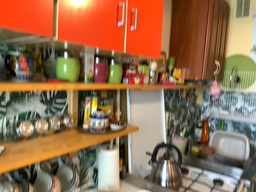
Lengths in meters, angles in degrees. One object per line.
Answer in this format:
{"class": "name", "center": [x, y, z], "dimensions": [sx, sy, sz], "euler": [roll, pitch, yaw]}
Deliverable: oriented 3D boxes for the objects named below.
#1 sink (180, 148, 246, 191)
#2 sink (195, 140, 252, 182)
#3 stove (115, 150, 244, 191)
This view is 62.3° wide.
{"class": "sink", "center": [0.690, 0.600, 1.710], "dimensions": [0.410, 0.180, 0.350], "euler": [7, 6, 36]}
{"class": "sink", "center": [0.900, 0.590, 2.000], "dimensions": [0.410, 0.180, 0.370], "euler": [7, 6, 36]}
{"class": "stove", "center": [0.340, 0.610, 1.380], "dimensions": [0.640, 0.230, 0.550], "euler": [7, 6, 36]}
